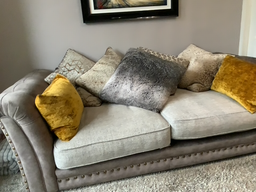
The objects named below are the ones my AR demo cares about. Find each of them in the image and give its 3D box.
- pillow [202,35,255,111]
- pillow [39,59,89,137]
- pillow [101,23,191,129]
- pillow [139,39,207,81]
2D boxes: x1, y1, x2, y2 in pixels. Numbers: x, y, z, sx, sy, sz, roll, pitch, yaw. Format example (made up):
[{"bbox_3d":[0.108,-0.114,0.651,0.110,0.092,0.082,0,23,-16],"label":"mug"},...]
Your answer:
[{"bbox_3d":[0.870,-0.150,1.720,0.210,0.360,0.620,-9,-20,-6],"label":"pillow"},{"bbox_3d":[-0.440,0.050,1.540,0.220,0.350,0.570,-9,-22,-9],"label":"pillow"},{"bbox_3d":[0.090,-0.180,1.810,0.200,0.640,0.640,27,-62,-37],"label":"pillow"},{"bbox_3d":[0.420,-0.370,2.070,0.510,0.380,0.170,-22,-66,-7],"label":"pillow"}]
